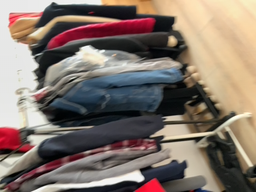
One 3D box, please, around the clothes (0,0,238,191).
[{"bbox_3d":[-0.110,0.000,1.370,0.700,1.210,0.700,-55,48,45],"label":"clothes"}]
